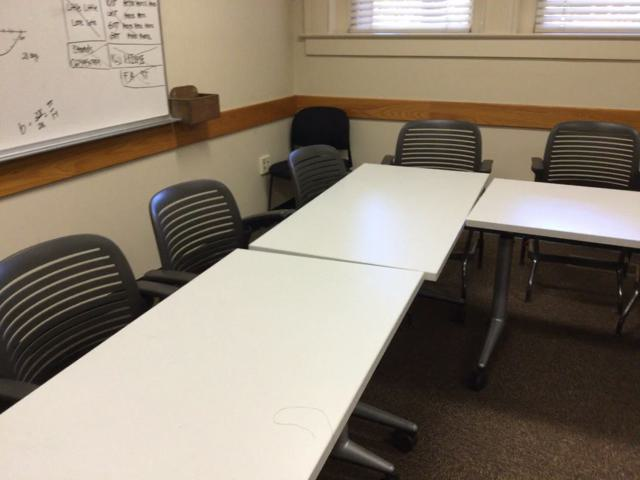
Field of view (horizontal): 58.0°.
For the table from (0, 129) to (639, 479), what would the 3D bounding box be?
[{"bbox_3d":[0.540,0.720,0.590,3.100,0.860,4.300,10,22,28],"label":"table"}]
